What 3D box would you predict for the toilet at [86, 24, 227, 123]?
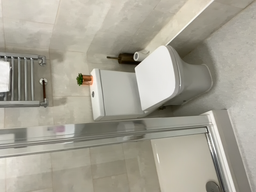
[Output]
[{"bbox_3d":[0.170,-0.110,1.590,0.600,0.770,0.430,-41,55,55],"label":"toilet"}]
